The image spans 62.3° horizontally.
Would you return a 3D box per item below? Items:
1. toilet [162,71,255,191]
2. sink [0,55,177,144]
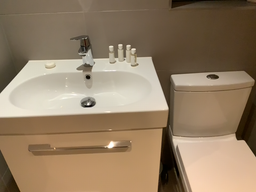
[{"bbox_3d":[0.450,0.350,1.080,0.400,0.760,0.590,-1,33,-1],"label":"toilet"},{"bbox_3d":[-0.180,-0.020,0.900,0.660,0.130,0.470,-1,33,-1],"label":"sink"}]
